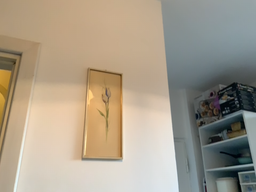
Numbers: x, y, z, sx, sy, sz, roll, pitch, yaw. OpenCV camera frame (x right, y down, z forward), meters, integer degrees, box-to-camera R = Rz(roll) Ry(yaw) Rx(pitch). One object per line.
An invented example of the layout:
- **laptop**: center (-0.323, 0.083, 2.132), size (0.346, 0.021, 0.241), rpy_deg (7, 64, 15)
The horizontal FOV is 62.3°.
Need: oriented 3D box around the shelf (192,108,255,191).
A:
- **shelf**: center (1.160, 0.860, 1.970), size (0.670, 1.300, 0.650), rpy_deg (7, -24, -19)
